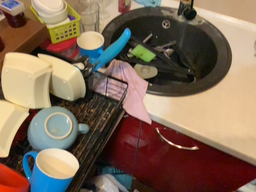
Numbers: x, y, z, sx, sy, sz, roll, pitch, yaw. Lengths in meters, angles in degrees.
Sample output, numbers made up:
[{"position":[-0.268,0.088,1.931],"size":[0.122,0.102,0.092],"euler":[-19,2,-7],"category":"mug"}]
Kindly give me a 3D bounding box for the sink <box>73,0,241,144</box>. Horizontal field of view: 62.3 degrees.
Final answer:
[{"position":[0.140,-0.160,0.890],"size":[0.490,0.180,0.520],"euler":[23,56,13],"category":"sink"}]
